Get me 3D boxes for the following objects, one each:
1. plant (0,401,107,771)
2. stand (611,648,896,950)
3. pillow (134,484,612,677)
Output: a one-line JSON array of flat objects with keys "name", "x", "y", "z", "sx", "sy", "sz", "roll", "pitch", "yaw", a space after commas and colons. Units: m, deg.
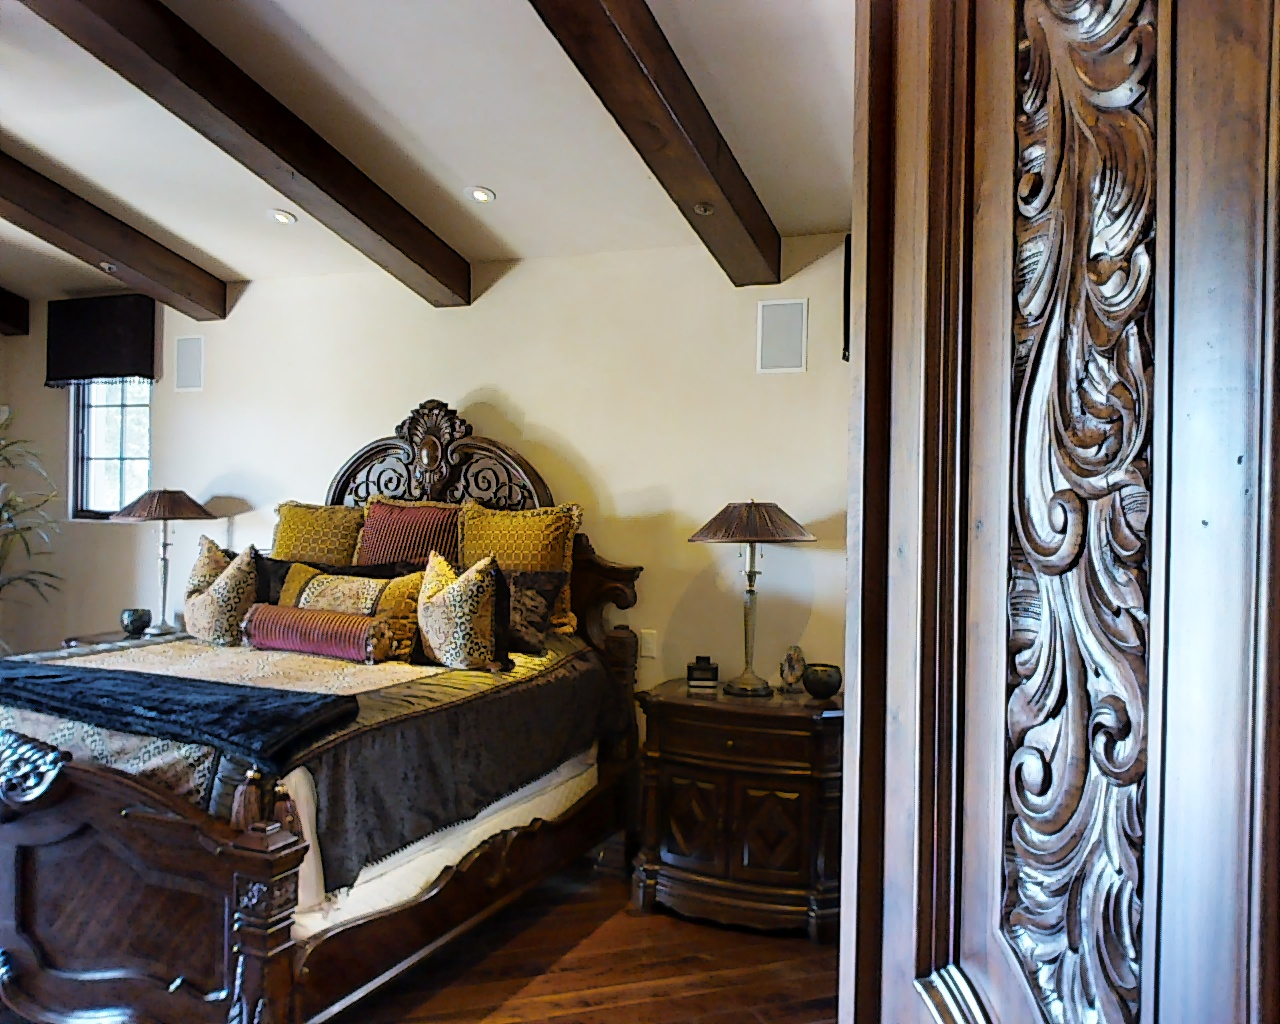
[{"name": "plant", "x": -3.660, "y": 0.380, "z": 5.840, "sx": 0.820, "sy": 1.930, "sz": 1.030, "roll": 1, "pitch": 0, "yaw": 25}, {"name": "stand", "x": 0.460, "y": 1.080, "z": 4.270, "sx": 0.980, "sy": 0.940, "sz": 0.570, "roll": 1, "pitch": 0, "yaw": 25}, {"name": "pillow", "x": -1.150, "y": 0.240, "z": 4.710, "sx": 1.760, "sy": 0.680, "sz": 1.050, "roll": 1, "pitch": 0, "yaw": 25}]
